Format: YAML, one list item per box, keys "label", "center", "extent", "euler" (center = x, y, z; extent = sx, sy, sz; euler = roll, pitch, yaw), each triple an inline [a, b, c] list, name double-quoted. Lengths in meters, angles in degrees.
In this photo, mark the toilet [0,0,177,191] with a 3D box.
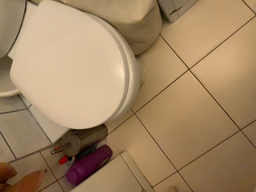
- label: "toilet"
  center: [-0.270, -0.160, 0.750]
  extent: [0.670, 0.760, 0.400]
  euler: [29, 101, 16]
